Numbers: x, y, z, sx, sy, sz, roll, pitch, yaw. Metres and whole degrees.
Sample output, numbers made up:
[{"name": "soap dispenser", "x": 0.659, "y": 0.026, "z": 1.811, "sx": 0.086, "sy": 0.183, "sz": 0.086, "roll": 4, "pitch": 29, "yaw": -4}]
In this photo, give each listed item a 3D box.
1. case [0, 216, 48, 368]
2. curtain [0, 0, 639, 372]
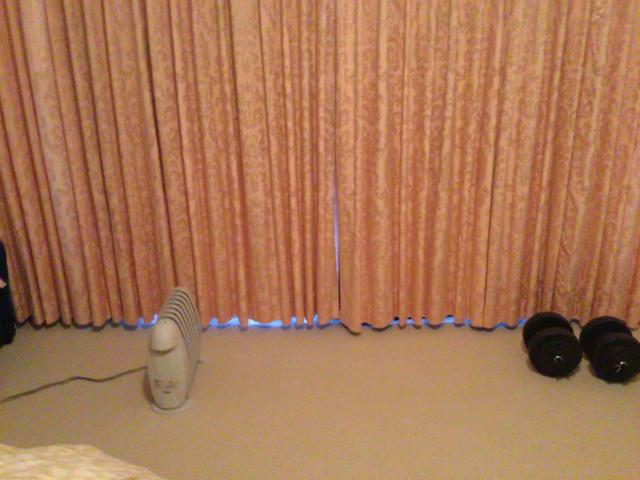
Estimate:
[{"name": "case", "x": -1.540, "y": 0.230, "z": 2.620, "sx": 0.290, "sy": 0.580, "sz": 0.420, "roll": -3, "pitch": 16, "yaw": 4}, {"name": "curtain", "x": 0.080, "y": -0.460, "z": 2.460, "sx": 3.500, "sy": 1.950, "sz": 0.340, "roll": -3, "pitch": 16, "yaw": 5}]
